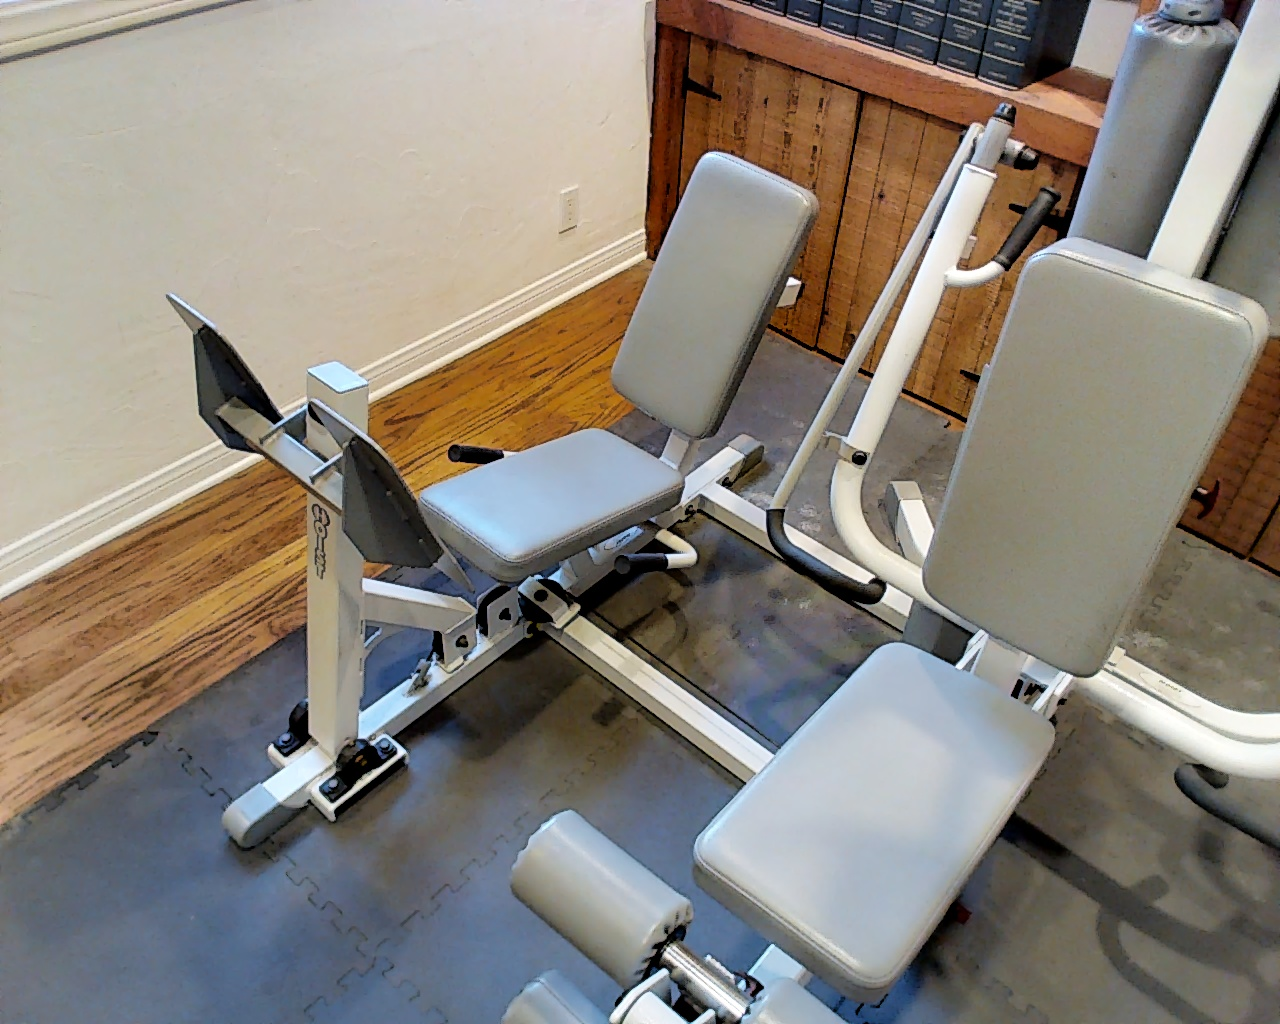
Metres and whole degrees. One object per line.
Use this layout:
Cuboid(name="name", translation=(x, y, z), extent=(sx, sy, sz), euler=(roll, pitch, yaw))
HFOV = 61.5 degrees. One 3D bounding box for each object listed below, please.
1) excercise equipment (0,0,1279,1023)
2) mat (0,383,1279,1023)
Cuboid(name="excercise equipment", translation=(0.380, -0.430, 1.330), extent=(1.730, 2.130, 1.940), euler=(33, 50, 29))
Cuboid(name="mat", translation=(0.130, 0.640, 1.720), extent=(1.890, 0.030, 2.130), euler=(33, 50, 29))
